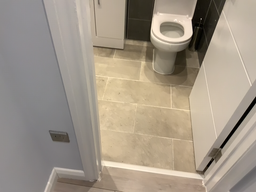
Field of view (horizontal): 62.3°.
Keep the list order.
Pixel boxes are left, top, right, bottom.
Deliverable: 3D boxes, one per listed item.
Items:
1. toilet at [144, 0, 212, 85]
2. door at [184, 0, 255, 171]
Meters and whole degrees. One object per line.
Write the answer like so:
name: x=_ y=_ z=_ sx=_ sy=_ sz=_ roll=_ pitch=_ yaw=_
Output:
toilet: x=0.410 y=-0.640 z=1.930 sx=0.370 sy=0.840 sz=0.610 roll=9 pitch=48 yaw=3
door: x=0.560 y=-0.410 z=0.970 sx=0.050 sy=2.000 sz=0.700 roll=7 pitch=47 yaw=2
